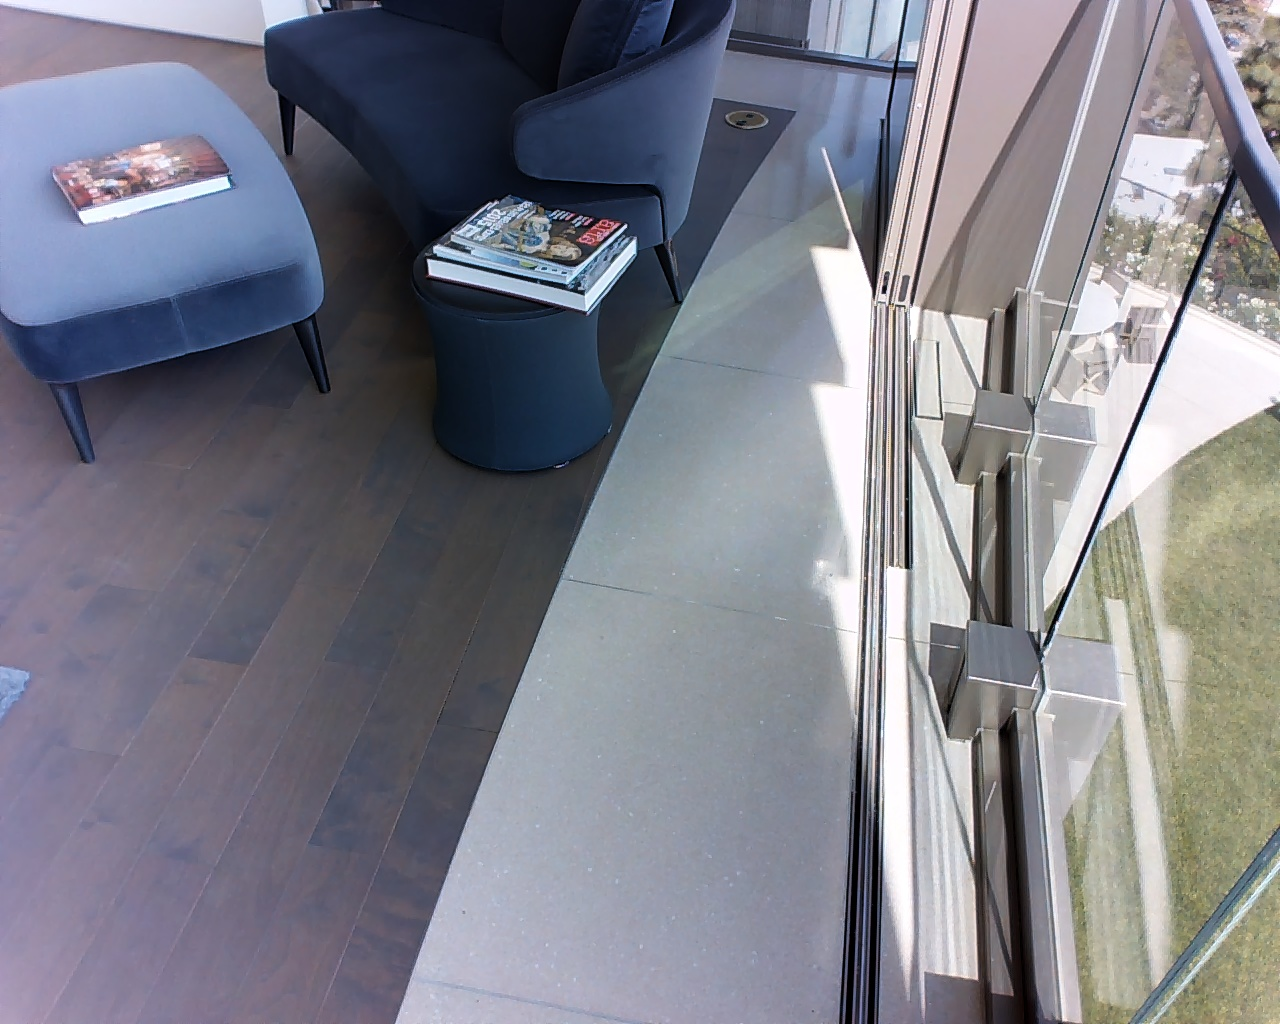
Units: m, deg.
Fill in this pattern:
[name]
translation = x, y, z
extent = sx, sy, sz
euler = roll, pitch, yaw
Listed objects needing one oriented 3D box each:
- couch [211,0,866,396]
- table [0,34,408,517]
[couch]
translation = -0.390, -1.270, 3.050
extent = 1.080, 0.850, 1.690
euler = -25, 48, -25
[table]
translation = -1.320, -0.710, 2.760
extent = 0.860, 0.430, 1.430
euler = -24, 48, -25
